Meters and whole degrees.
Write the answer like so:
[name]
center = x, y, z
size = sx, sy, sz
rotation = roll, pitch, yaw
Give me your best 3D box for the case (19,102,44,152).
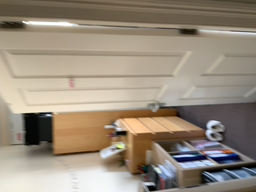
[case]
center = -1.450, 0.440, 3.230
size = 0.580, 0.240, 0.620
rotation = -160, 70, -75
